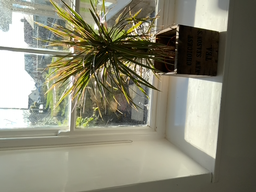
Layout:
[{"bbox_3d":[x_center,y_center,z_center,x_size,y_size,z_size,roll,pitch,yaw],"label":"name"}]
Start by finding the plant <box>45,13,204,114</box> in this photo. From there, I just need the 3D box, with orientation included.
[{"bbox_3d":[-0.010,-0.120,1.030,0.230,0.710,0.370,-163,76,-66],"label":"plant"}]
